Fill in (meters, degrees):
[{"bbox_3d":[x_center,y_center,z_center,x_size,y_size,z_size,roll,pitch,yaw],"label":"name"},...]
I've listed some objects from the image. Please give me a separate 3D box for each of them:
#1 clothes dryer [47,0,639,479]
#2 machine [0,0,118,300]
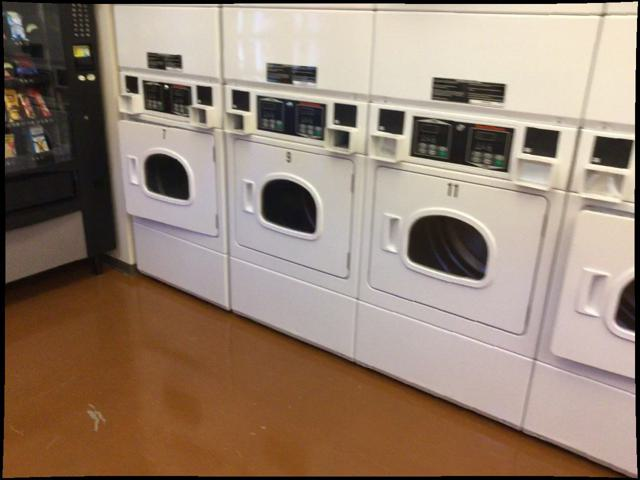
[{"bbox_3d":[0.220,-0.621,2.310,3.098,2.062,0.910,16,26,34],"label":"clothes dryer"},{"bbox_3d":[-1.429,-0.651,2.430,0.400,1.762,0.850,18,27,37],"label":"machine"}]
